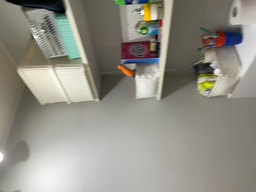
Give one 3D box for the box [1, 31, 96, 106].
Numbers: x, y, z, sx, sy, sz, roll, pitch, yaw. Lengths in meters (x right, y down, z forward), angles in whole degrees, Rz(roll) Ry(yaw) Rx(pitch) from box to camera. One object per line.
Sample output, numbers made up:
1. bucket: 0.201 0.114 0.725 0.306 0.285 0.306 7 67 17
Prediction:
1. box: -0.400 -0.140 1.190 0.350 0.370 0.240 85 -177 -59
